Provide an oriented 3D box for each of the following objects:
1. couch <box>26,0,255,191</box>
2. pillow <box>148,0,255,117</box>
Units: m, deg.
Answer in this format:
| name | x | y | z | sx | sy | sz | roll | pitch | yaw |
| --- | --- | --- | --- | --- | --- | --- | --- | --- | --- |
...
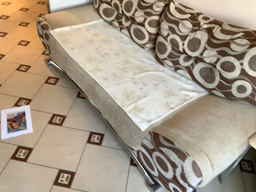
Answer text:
| name | x | y | z | sx | sy | sz | roll | pitch | yaw |
| --- | --- | --- | --- | --- | --- | --- | --- | --- | --- |
| couch | 0.060 | -0.350 | 1.710 | 0.980 | 0.880 | 2.000 | -23 | 51 | -31 |
| pillow | 0.540 | -0.310 | 1.430 | 0.240 | 0.430 | 0.830 | -24 | 51 | -31 |
